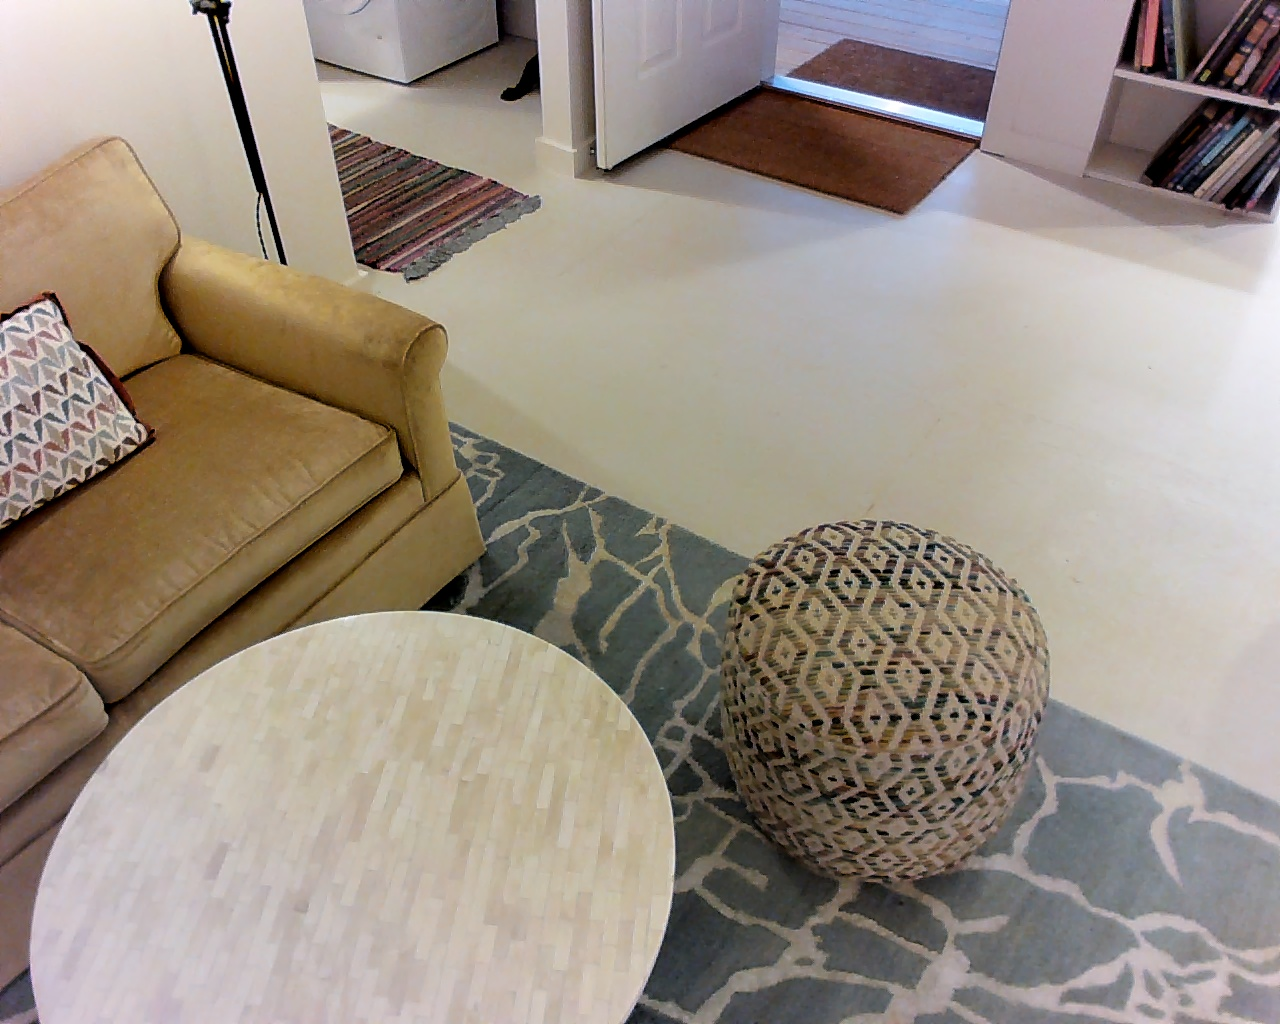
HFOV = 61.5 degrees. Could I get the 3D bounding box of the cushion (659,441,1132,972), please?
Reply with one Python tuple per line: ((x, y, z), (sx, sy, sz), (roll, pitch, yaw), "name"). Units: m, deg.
((0.390, 0.280, 1.710), (0.540, 0.440, 0.520), (19, 46, 21), "cushion")
